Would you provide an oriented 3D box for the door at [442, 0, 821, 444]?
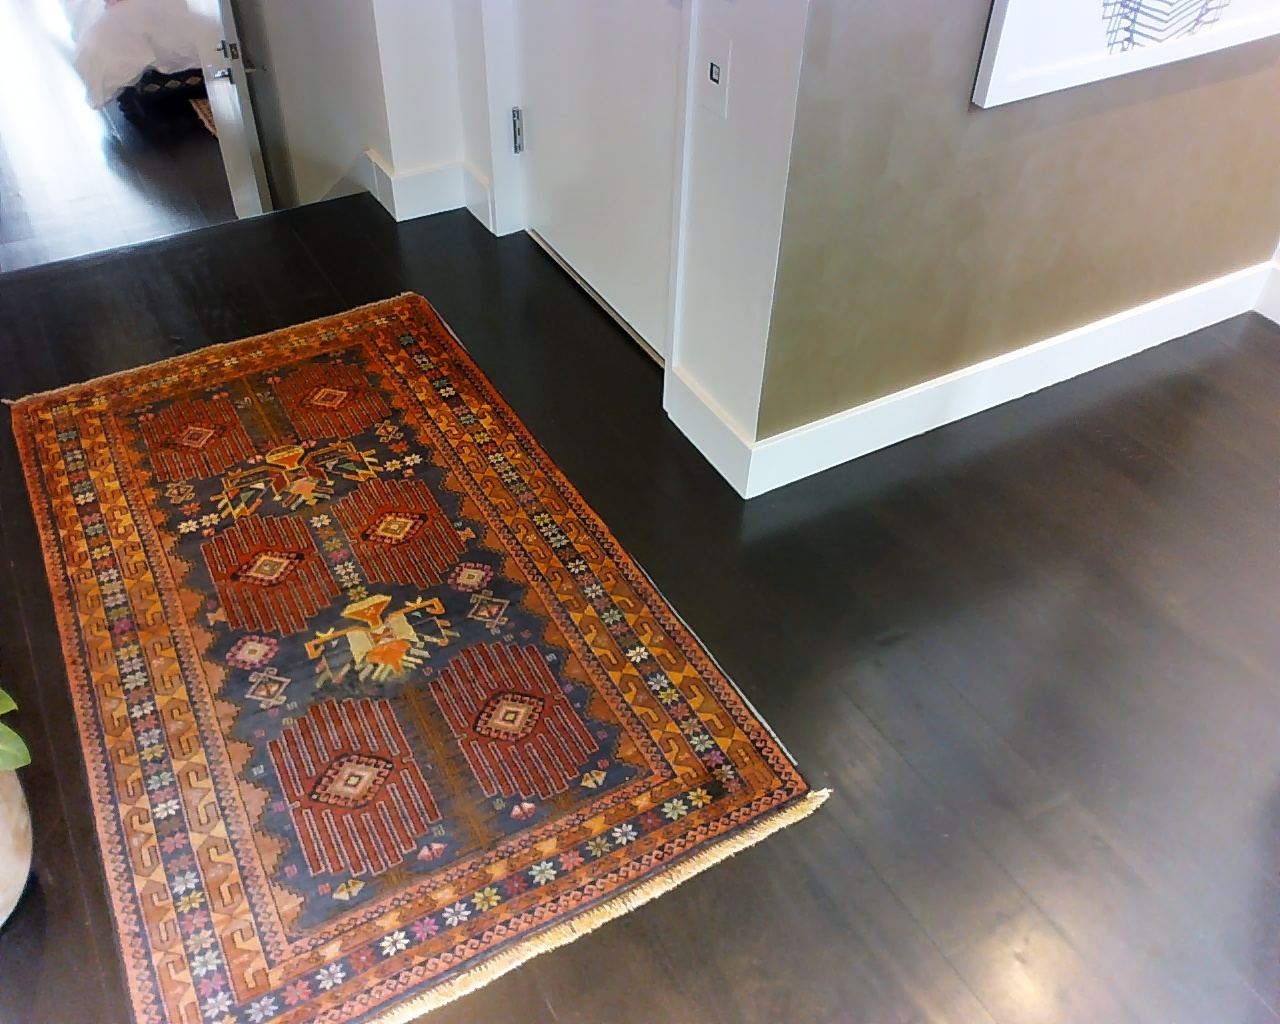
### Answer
[{"bbox_3d":[-0.120,-1.460,2.010,0.020,2.290,1.580,-21,46,-23],"label":"door"}]

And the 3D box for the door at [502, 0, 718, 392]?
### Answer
[{"bbox_3d":[-0.100,-1.330,2.270,0.030,2.030,0.940,-21,46,-23],"label":"door"}]
